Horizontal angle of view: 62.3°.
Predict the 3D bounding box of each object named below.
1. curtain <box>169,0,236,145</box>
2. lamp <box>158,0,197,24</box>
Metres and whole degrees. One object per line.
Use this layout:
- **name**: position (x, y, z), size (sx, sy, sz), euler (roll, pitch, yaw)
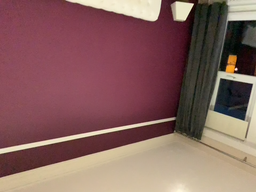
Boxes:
- **curtain**: position (1.140, -0.380, 3.380), size (0.280, 2.200, 0.580), euler (-5, -163, -43)
- **lamp**: position (0.680, -1.240, 2.910), size (0.350, 0.420, 0.340), euler (-5, -164, -41)
